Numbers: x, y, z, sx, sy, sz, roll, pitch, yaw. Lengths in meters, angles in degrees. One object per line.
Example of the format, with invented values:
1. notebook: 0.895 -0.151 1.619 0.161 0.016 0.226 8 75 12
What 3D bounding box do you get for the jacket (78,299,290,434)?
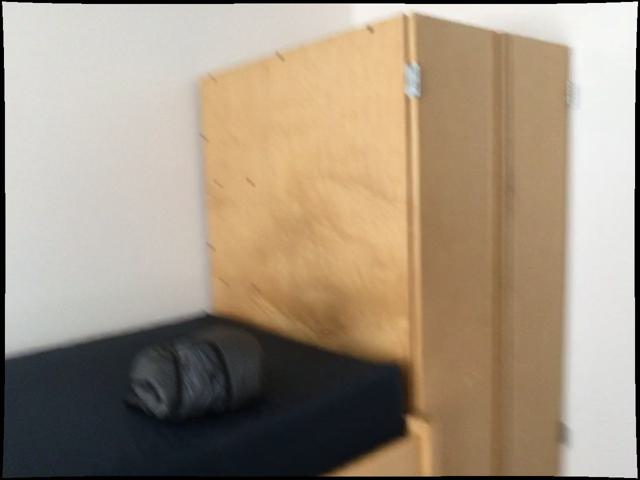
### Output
1. jacket: -0.320 0.250 1.280 0.240 0.130 0.500 -9 9 -41
